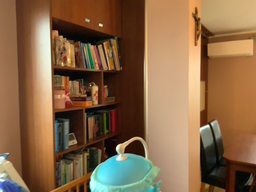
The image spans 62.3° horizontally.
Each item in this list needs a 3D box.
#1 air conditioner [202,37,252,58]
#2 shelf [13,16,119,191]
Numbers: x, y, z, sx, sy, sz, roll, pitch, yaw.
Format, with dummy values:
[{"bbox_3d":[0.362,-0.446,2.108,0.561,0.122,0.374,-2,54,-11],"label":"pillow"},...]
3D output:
[{"bbox_3d":[1.900,-0.930,4.110,0.850,0.290,0.250,2,4,32],"label":"air conditioner"},{"bbox_3d":[-0.510,0.240,2.030,0.390,1.670,0.900,2,4,32],"label":"shelf"}]
